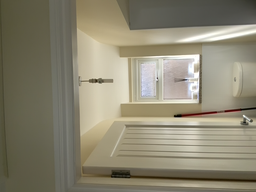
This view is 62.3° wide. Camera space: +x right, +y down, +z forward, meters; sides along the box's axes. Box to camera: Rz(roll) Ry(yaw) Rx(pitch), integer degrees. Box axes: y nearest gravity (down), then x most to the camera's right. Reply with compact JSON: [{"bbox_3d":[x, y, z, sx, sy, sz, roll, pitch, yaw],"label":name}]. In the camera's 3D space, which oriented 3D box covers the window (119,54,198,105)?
[{"bbox_3d":[0.380,-0.210,2.770,0.140,0.990,0.630,-25,-65,-83],"label":"window"}]
